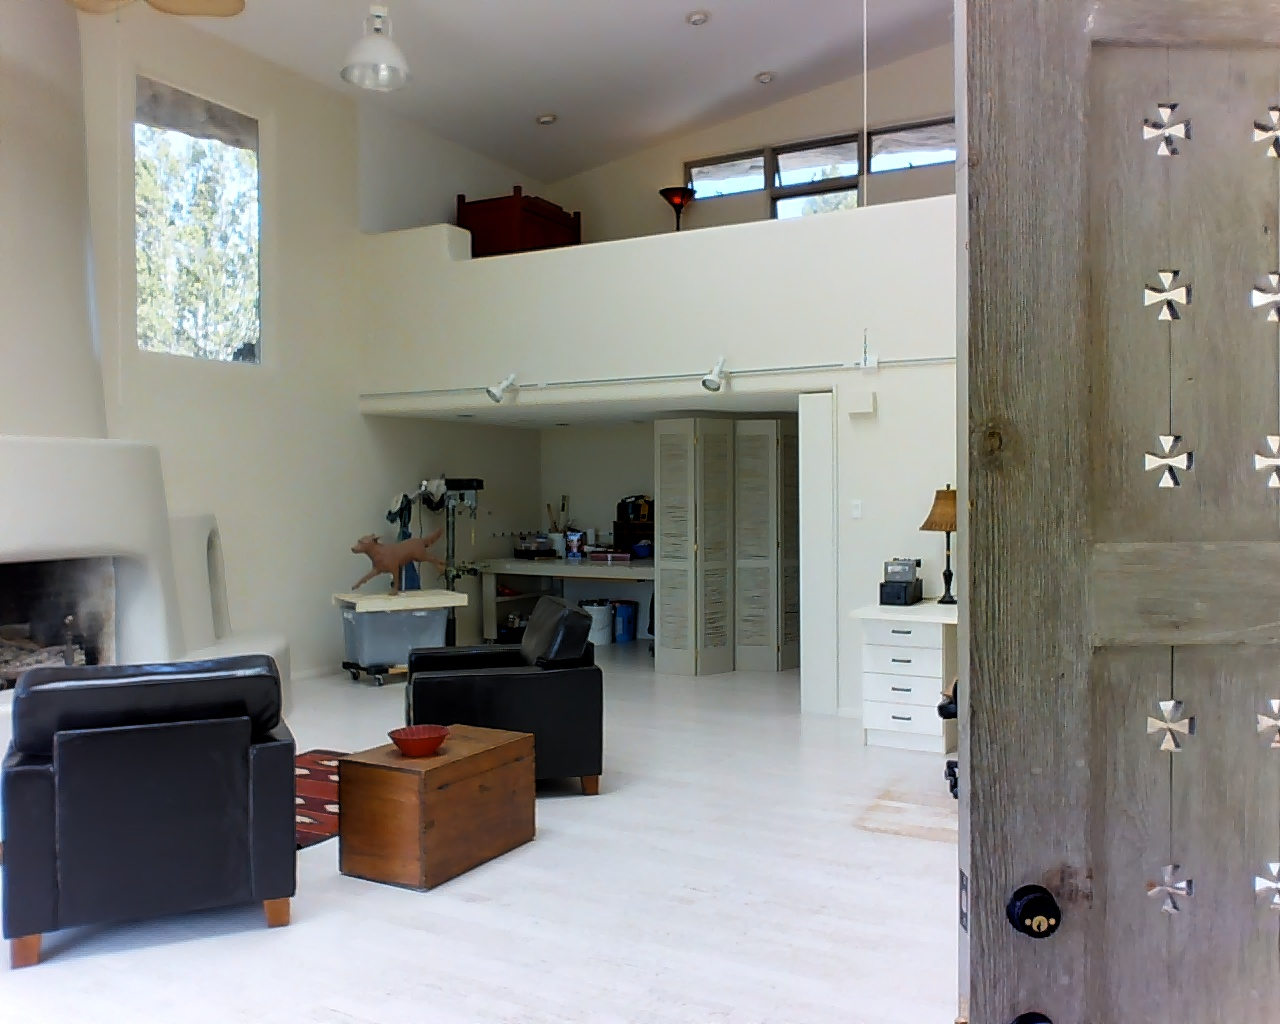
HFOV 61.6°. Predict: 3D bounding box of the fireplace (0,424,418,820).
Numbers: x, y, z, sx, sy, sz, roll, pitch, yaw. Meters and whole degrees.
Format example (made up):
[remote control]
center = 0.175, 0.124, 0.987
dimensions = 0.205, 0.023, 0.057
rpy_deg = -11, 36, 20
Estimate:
[fireplace]
center = -3.179, 0.480, 5.680
dimensions = 1.470, 1.761, 4.330
rpy_deg = 0, 1, 29
